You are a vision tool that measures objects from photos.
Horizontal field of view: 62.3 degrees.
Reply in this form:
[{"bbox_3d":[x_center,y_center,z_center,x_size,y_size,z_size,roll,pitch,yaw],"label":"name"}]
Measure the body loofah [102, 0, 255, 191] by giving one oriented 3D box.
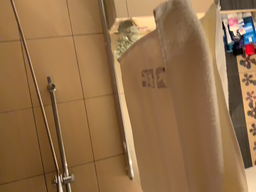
[{"bbox_3d":[0.080,0.100,0.660,0.120,0.570,0.610,-10,-178,-17],"label":"body loofah"}]
